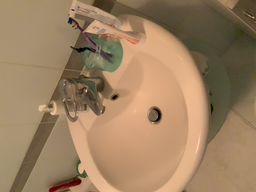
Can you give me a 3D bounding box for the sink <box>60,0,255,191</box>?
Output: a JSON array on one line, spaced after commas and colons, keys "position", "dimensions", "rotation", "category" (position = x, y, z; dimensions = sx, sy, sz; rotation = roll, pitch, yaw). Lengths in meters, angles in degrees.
[{"position": [0.040, 0.070, 0.690], "dimensions": [0.460, 0.180, 0.540], "rotation": [51, 121, 31], "category": "sink"}]
